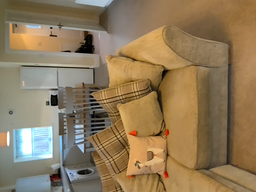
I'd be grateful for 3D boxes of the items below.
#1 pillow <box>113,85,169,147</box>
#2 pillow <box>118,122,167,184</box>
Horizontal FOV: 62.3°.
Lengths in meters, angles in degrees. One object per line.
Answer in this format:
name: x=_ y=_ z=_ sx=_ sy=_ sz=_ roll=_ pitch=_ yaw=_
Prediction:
pillow: x=0.130 y=0.190 z=1.920 sx=0.150 sy=0.400 sz=0.400 roll=-22 pitch=42 yaw=56
pillow: x=0.140 y=0.510 z=1.900 sx=0.150 sy=0.340 sz=0.470 roll=-4 pitch=66 yaw=49
